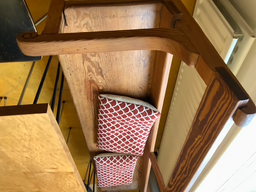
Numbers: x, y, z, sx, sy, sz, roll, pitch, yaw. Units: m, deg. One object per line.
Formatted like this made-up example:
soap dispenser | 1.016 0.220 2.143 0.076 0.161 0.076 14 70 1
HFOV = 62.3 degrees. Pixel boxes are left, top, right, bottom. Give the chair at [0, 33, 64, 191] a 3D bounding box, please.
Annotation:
chair | -0.740 0.100 1.120 0.600 0.760 0.430 -6 140 -1

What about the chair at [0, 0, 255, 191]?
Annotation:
chair | -0.030 0.310 1.400 0.580 0.840 1.980 -4 140 -3
